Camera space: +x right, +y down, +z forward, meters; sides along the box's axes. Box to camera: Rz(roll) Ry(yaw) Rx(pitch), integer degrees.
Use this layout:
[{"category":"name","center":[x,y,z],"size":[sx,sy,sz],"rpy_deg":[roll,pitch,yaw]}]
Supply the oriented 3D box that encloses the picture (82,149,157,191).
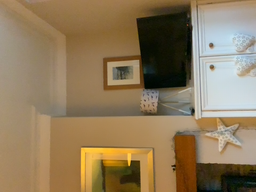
[{"category":"picture","center":[-0.110,1.180,2.430],"size":[0.050,0.880,1.110],"rpy_deg":[24,-116,-77]}]

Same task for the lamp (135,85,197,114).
[{"category":"lamp","center":[0.460,0.060,2.590],"size":[0.310,0.690,0.320],"rpy_deg":[22,-113,-77]}]
